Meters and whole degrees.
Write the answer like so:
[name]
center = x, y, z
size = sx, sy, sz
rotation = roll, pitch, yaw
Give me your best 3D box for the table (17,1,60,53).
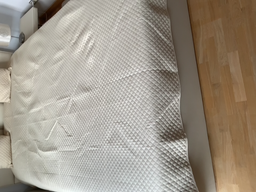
[table]
center = -1.140, -0.840, 2.680
size = 0.460, 0.330, 0.420
rotation = -12, 79, 41
